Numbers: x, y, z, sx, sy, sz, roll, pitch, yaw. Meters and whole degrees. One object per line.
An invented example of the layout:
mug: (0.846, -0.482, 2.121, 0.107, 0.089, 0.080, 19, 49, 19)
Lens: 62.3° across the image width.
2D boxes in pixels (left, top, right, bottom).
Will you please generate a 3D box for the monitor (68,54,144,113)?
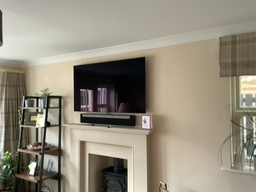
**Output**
monitor: (-0.350, -0.140, 2.870, 1.220, 0.700, 0.050, -1, -1, 30)
